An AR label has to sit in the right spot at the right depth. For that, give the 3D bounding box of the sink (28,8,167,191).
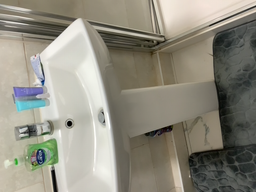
[{"bbox_3d":[-0.130,0.080,0.720,0.390,0.200,0.560,-14,84,45],"label":"sink"}]
